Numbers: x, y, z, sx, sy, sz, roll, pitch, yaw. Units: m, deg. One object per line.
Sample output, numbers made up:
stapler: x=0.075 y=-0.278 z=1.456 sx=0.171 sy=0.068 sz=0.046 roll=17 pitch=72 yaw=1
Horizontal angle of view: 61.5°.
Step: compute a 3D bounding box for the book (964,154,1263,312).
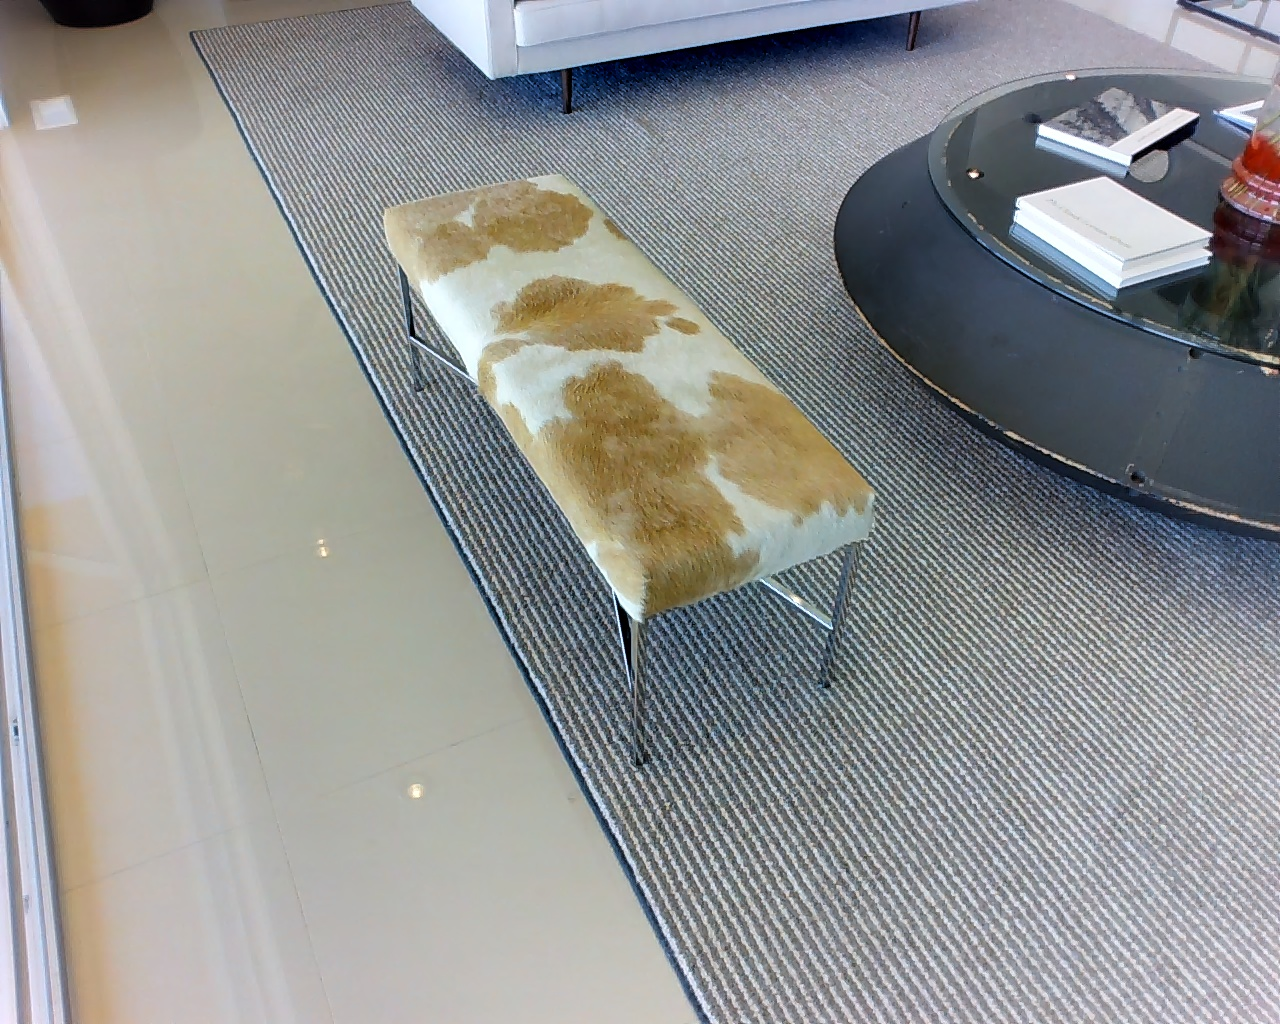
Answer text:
book: x=0.980 y=-0.600 z=2.260 sx=0.390 sy=0.070 sz=0.430 roll=-18 pitch=46 yaw=-19
